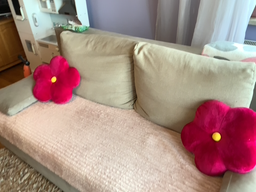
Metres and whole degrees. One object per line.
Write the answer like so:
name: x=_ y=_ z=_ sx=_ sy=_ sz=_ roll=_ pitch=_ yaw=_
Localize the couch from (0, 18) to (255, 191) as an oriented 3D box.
couch: x=0.000 y=0.150 z=1.400 sx=1.960 sy=0.820 sz=1.020 roll=20 pitch=41 yaw=29
